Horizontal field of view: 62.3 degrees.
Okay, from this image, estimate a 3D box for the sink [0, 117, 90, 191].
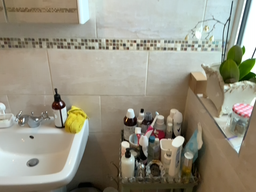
[{"bbox_3d":[-0.500,0.310,1.050,0.560,0.180,0.460,0,27,-4],"label":"sink"}]
